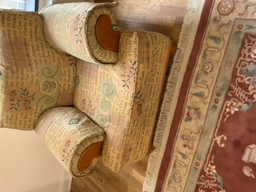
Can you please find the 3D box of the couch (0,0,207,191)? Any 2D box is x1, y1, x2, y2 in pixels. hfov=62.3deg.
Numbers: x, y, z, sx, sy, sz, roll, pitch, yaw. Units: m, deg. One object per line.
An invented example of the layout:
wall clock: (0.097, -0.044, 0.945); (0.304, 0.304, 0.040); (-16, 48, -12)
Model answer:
couch: (-0.340, -0.040, 1.520); (1.200, 0.930, 0.990); (26, 112, 40)
